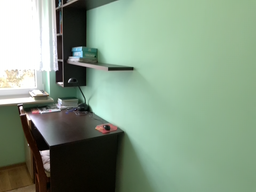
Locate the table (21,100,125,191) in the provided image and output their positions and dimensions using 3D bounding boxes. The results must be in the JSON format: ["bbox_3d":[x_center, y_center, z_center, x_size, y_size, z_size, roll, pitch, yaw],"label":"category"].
[{"bbox_3d":[-0.670,0.570,2.300,0.680,0.750,1.220,-5,14,-34],"label":"table"}]
